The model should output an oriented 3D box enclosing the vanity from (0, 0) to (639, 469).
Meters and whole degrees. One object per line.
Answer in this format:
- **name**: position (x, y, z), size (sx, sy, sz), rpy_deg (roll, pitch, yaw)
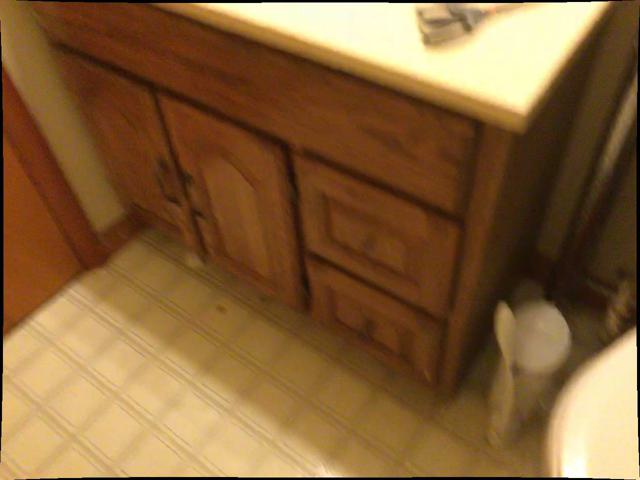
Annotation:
- **vanity**: position (-0.010, -0.250, 1.140), size (1.050, 0.890, 0.540), rpy_deg (27, 54, 26)
